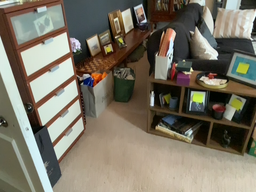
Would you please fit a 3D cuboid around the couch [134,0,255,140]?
[{"bbox_3d":[0.940,-0.610,2.660,1.090,0.890,2.150,9,33,18],"label":"couch"}]

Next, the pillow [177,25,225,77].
[{"bbox_3d":[0.700,-0.460,2.080,0.180,0.410,0.420,-24,22,0],"label":"pillow"}]

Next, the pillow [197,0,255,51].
[{"bbox_3d":[1.440,-1.080,3.110,0.560,0.570,0.230,-45,6,38],"label":"pillow"}]
